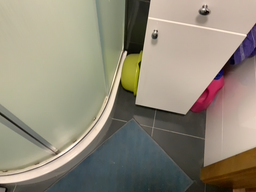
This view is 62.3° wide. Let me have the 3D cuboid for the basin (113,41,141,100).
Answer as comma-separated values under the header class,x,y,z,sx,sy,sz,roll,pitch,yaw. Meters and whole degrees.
class,x,y,z,sx,sy,sz,roll,pitch,yaw
basin,-0.010,-0.140,1.280,0.110,0.320,0.200,11,65,2
